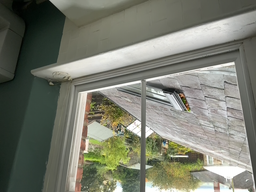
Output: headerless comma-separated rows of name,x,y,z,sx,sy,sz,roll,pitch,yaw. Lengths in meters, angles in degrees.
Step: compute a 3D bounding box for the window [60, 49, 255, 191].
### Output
window,0.110,0.440,0.990,1.060,1.210,0.080,-9,156,26
